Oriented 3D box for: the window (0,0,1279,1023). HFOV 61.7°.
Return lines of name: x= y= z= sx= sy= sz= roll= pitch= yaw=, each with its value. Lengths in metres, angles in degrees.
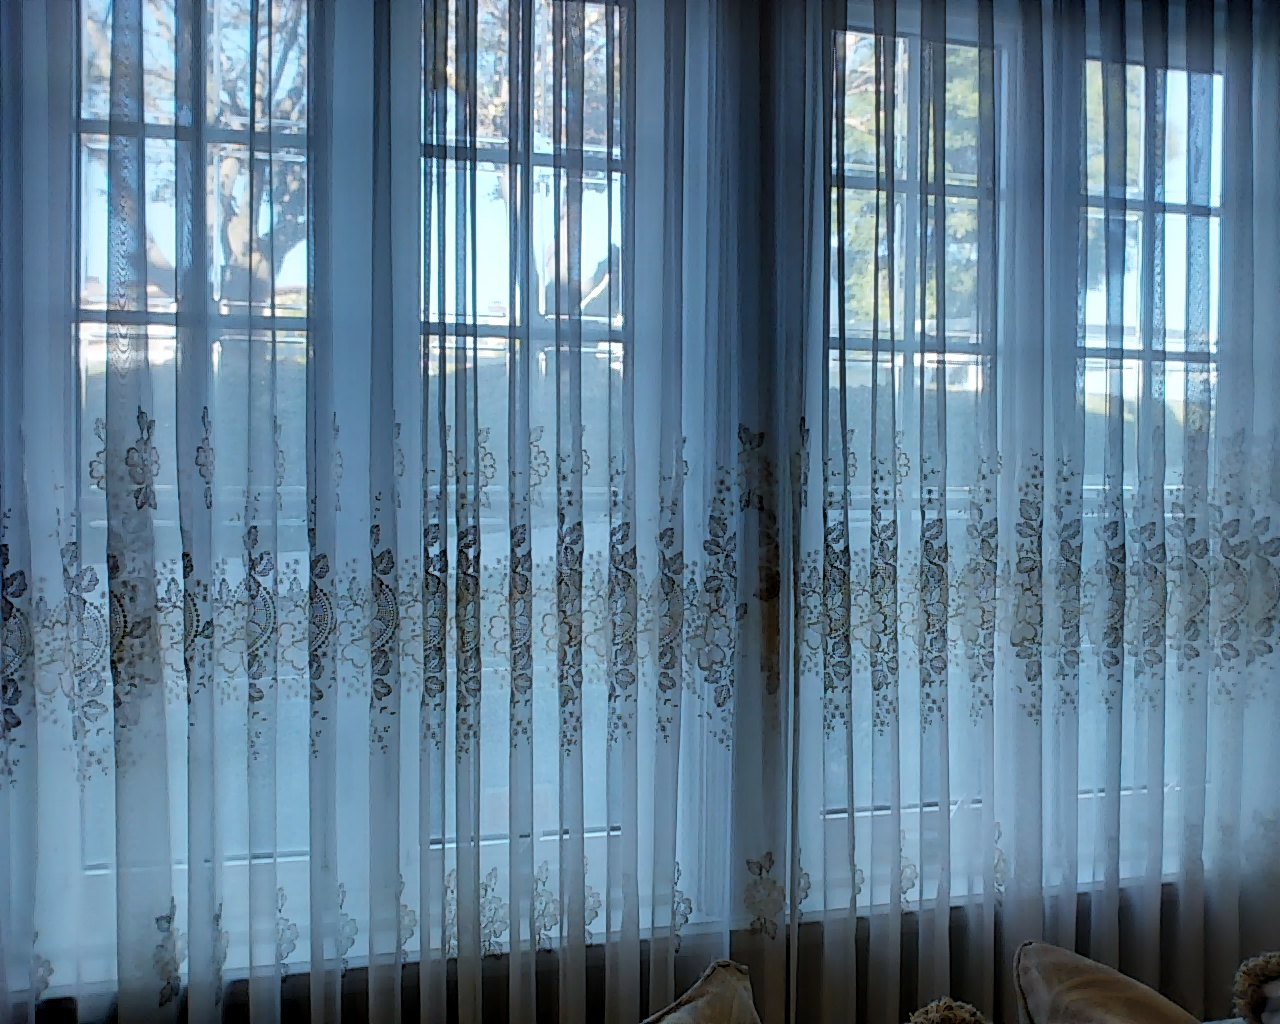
window: x=0.300 y=0.150 z=1.530 sx=3.600 sy=2.380 sz=0.760 roll=0 pitch=2 yaw=-14
